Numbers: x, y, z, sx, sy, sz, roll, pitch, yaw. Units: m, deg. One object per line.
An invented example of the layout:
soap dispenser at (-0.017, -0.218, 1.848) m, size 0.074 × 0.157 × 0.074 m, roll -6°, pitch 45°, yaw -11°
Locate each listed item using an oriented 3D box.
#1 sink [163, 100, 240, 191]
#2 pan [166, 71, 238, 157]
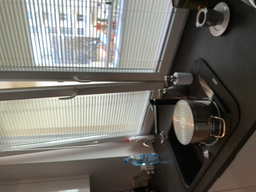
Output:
sink at (0.460, 0.340, 1.480) m, size 0.480 × 0.210 × 0.400 m, roll -104°, pitch 19°, yaw -47°
pan at (0.360, 0.100, 1.130) m, size 0.360 × 0.140 × 0.290 m, roll 102°, pitch 162°, yaw -45°
